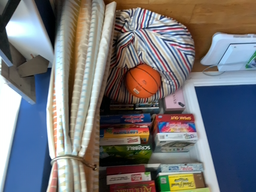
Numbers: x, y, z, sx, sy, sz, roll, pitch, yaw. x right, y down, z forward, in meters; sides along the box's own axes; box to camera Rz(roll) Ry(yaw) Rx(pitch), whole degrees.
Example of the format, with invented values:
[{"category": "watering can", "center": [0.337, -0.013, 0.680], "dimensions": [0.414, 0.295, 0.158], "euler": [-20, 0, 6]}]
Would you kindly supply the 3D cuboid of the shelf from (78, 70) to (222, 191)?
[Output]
[{"category": "shelf", "center": [0.140, 0.750, 1.320], "dimensions": [0.860, 2.020, 0.260], "euler": [-2, 151, -4]}]
